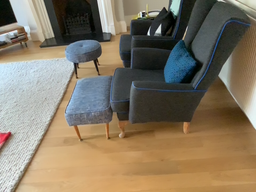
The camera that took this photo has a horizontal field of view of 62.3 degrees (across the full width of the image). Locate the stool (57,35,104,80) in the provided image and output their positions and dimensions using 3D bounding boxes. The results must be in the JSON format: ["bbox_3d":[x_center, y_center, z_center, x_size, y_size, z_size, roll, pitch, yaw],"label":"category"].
[{"bbox_3d":[-0.600,-0.520,2.830,0.460,0.390,0.490,-4,35,4],"label":"stool"}]

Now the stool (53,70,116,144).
[{"bbox_3d":[-0.350,0.080,1.950,0.410,0.370,0.590,-4,35,4],"label":"stool"}]

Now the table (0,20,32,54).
[{"bbox_3d":[-2.350,-1.000,3.800,0.320,0.380,1.050,27,47,38],"label":"table"}]

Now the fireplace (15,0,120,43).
[{"bbox_3d":[-1.090,-1.840,3.910,1.740,1.400,0.570,-5,35,2],"label":"fireplace"}]
